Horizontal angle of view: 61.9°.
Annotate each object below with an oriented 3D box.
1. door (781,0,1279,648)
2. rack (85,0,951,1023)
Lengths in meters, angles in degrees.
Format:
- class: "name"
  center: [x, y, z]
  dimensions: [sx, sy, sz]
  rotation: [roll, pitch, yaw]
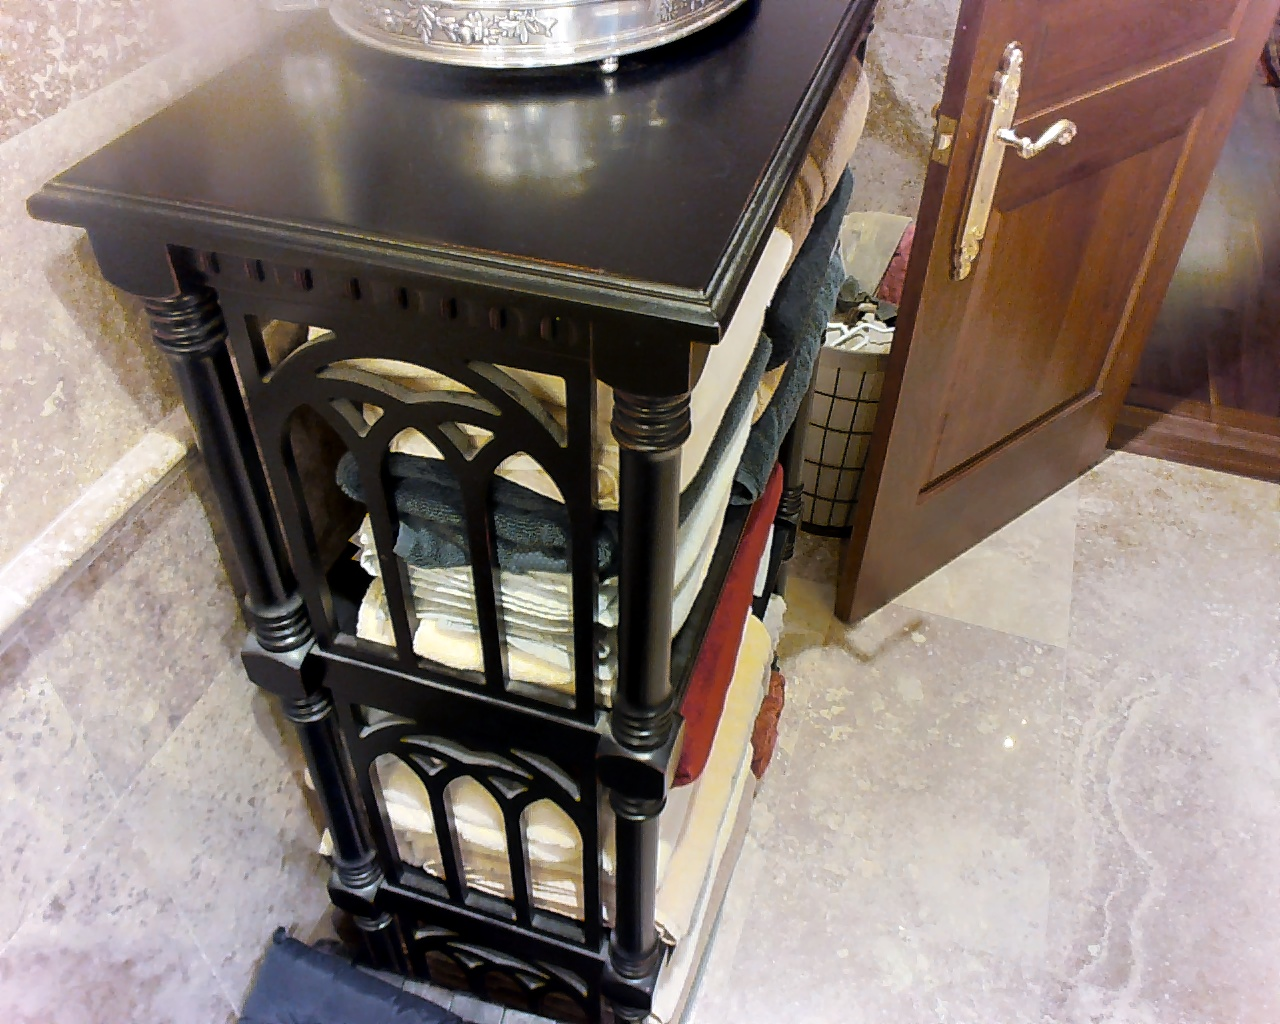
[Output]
- class: "door"
  center: [0.630, -0.700, 1.390]
  dimensions: [0.770, 2.040, 0.150]
  rotation: [-26, 49, -26]
- class: "rack"
  center: [-0.020, 0.090, 1.150]
  dimensions: [0.390, 1.190, 0.620]
  rotation: [14, 45, 14]
